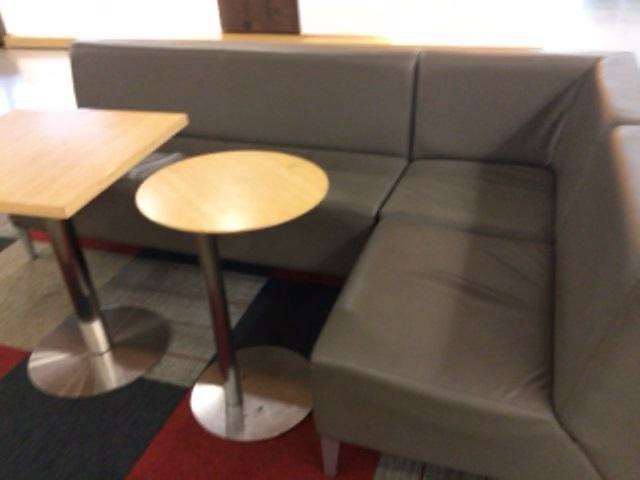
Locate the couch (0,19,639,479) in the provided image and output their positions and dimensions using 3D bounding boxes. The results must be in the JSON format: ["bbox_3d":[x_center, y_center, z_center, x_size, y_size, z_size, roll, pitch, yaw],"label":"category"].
[{"bbox_3d":[-0.150,-0.140,1.920,2.210,0.790,1.360,10,34,19],"label":"couch"}]

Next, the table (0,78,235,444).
[{"bbox_3d":[-0.730,0.020,1.740,0.670,0.810,0.660,5,32,12],"label":"table"}]
